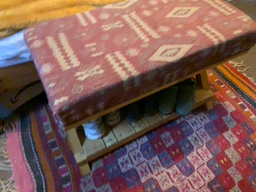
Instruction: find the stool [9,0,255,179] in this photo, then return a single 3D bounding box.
[{"bbox_3d":[0.040,-0.090,0.980,0.840,0.530,0.410,-22,56,-18],"label":"stool"}]
